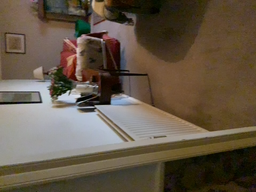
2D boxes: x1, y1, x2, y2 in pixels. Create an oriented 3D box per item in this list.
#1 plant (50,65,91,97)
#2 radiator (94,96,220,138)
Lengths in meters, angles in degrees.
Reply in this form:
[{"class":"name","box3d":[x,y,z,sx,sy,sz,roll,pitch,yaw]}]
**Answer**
[{"class":"plant","box3d":[-0.810,-0.220,2.960,0.330,0.500,0.400,-160,70,-64]},{"class":"radiator","box3d":[0.200,0.150,2.180,1.110,0.820,0.100,-159,69,-64]}]
